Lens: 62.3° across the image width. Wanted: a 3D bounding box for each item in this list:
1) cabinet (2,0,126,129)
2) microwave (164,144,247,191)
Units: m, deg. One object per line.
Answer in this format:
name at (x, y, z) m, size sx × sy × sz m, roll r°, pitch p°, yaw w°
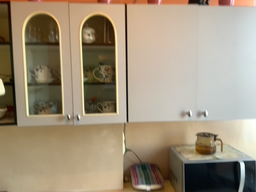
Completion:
cabinet at (-0.340, -0.180, 1.280) m, size 0.610 × 0.670 × 0.320 m, roll -1°, pitch 5°, yaw -7°
microwave at (0.530, 0.560, 1.550) m, size 0.450 × 0.290 × 0.390 m, roll -1°, pitch 5°, yaw -3°
